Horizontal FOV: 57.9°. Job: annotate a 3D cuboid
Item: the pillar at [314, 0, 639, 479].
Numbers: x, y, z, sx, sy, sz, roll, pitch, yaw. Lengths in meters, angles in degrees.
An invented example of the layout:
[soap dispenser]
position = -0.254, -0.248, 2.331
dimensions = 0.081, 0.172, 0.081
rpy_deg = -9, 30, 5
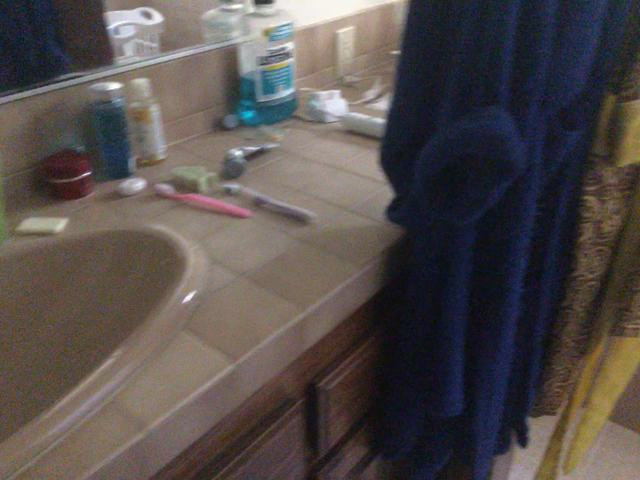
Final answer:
[pillar]
position = 0.280, 0.170, 0.870
dimensions = 0.350, 1.250, 0.370
rpy_deg = 20, 37, 36
